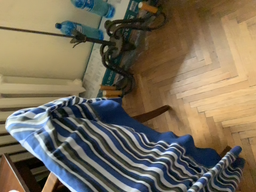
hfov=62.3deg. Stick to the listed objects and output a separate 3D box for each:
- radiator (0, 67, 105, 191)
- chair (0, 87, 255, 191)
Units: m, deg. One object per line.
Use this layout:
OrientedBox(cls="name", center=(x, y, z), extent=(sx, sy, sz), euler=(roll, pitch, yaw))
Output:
OrientedBox(cls="radiator", center=(-0.670, 0.400, 1.490), extent=(0.210, 0.690, 1.170), euler=(35, 111, 32))
OrientedBox(cls="chair", center=(0.010, 0.380, 0.890), extent=(0.600, 0.950, 0.620), euler=(31, 109, 33))
